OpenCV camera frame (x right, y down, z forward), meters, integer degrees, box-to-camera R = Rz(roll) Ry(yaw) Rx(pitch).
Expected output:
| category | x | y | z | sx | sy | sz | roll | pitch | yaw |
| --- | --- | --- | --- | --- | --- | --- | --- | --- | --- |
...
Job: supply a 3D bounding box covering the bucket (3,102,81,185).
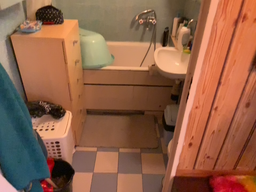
| category | x | y | z | sx | sy | sz | roll | pitch | yaw |
| --- | --- | --- | --- | --- | --- | --- | --- | --- | --- |
| bucket | -0.600 | 0.360 | 1.620 | 0.380 | 0.500 | 0.370 | 0 | 34 | -3 |
